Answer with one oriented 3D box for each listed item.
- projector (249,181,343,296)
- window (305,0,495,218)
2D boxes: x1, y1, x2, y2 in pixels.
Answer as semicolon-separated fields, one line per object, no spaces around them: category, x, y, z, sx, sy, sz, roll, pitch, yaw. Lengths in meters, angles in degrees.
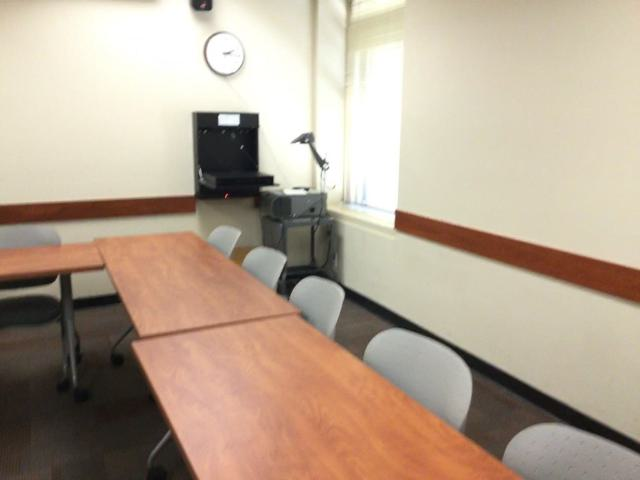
projector;-0.200;-0.040;4.580;0.550;0.770;0.550;-7;15;-27
window;0.490;-1.050;4.210;0.660;1.520;1.360;-7;15;-27
